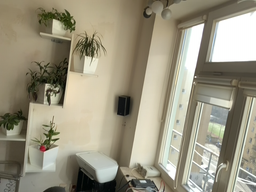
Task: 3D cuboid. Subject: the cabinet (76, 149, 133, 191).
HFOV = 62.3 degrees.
[{"bbox_3d":[-0.300,1.060,2.280,0.440,0.820,0.480,8,6,-19],"label":"cabinet"}]
